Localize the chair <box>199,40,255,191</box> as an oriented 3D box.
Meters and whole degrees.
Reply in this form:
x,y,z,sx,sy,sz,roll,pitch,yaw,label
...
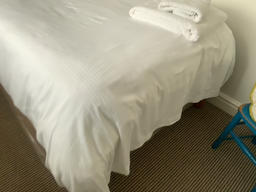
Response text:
x,y,z,sx,sy,sz,roll,pitch,yaw,label
0.730,0.120,0.980,0.480,0.630,0.380,-4,43,-13,chair
